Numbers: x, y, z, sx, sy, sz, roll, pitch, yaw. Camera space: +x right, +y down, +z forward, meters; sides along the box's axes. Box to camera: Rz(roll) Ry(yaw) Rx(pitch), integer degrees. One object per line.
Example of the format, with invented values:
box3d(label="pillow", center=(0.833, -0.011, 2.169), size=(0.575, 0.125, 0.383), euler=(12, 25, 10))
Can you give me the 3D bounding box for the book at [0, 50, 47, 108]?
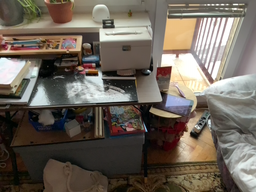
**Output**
box3d(label="book", center=(-0.570, -0.090, 1.000), size=(0.270, 0.100, 0.330), euler=(-2, 40, -3))
